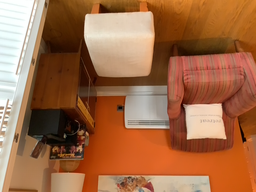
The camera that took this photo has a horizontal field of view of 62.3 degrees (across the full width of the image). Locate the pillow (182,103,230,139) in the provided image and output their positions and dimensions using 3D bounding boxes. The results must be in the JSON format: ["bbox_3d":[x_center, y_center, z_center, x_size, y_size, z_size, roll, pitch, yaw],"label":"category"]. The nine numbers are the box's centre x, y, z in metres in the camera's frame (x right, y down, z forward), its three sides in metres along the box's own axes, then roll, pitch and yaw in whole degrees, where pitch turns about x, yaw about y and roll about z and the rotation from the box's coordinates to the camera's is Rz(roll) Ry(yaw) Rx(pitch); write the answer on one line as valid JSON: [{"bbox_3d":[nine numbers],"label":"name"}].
[{"bbox_3d":[0.770,0.250,2.150,0.380,0.330,0.150,-1,141,6],"label":"pillow"}]

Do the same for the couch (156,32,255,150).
[{"bbox_3d":[0.750,0.030,2.180,0.780,0.870,0.960,-1,156,2],"label":"couch"}]

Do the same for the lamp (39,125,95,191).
[{"bbox_3d":[-0.590,0.690,2.180,0.370,0.660,0.450,-2,156,4],"label":"lamp"}]
